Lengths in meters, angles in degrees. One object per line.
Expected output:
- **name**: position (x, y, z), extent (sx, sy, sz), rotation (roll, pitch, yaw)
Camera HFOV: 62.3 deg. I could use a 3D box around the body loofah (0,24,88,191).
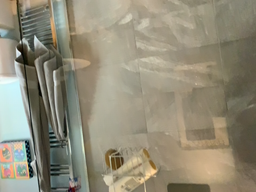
- **body loofah**: position (-0.700, 0.200, 1.800), extent (0.470, 1.460, 0.280), rotation (-8, 180, 14)
